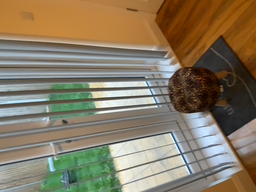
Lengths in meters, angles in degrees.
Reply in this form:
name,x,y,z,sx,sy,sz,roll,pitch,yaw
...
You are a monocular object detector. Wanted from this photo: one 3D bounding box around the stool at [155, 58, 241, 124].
name,x,y,z,sx,sy,sz,roll,pitch,yaw
stool,0.470,-0.040,1.470,0.290,0.370,0.320,-54,50,46
